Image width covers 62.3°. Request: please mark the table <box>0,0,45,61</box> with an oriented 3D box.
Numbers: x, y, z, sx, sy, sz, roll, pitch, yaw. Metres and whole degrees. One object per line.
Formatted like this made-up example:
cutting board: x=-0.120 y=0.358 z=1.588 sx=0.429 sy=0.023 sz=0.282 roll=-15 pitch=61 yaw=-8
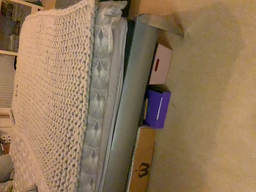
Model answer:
table: x=-2.050 y=-1.180 z=3.740 sx=0.490 sy=0.910 sz=0.940 roll=19 pitch=102 yaw=51
